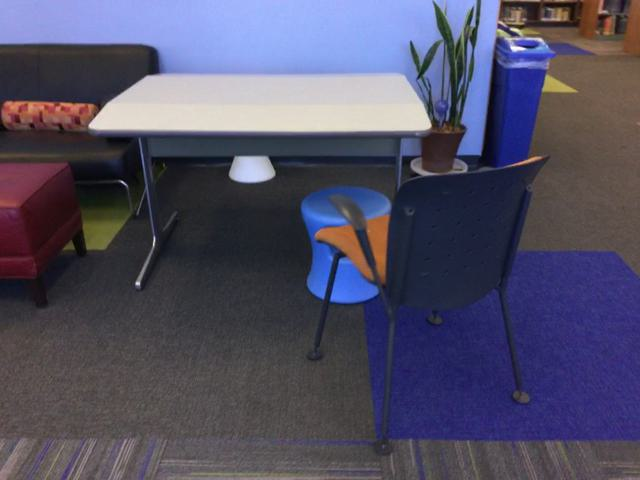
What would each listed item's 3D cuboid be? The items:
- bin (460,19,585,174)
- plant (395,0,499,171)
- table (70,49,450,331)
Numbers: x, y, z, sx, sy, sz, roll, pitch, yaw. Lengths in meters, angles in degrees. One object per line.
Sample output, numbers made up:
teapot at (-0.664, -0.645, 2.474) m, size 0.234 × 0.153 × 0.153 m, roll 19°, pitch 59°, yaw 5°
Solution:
bin at (1.210, -0.910, 3.600) m, size 0.400 × 0.790 × 0.680 m, roll 4°, pitch 25°, yaw -2°
plant at (0.710, -0.960, 3.320) m, size 0.390 × 1.050 × 0.300 m, roll 4°, pitch 25°, yaw -2°
table at (-0.220, -0.290, 2.560) m, size 1.250 × 0.840 × 1.060 m, roll 4°, pitch 25°, yaw -2°
